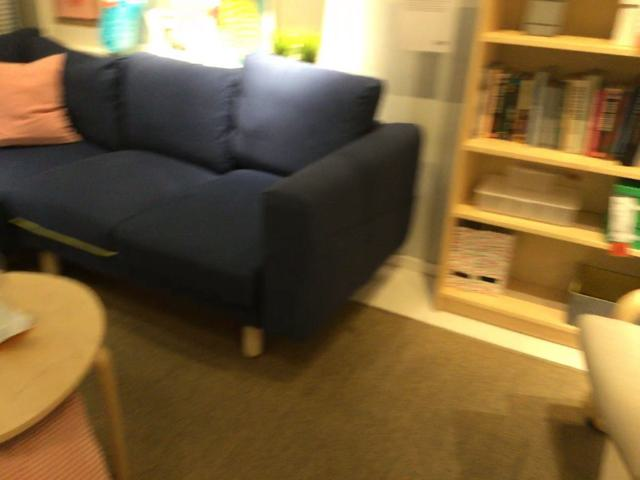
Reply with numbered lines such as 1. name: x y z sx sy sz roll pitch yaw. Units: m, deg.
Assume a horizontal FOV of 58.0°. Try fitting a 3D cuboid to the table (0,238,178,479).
1. table: -0.860 0.380 1.460 0.730 0.460 0.640 15 23 25
